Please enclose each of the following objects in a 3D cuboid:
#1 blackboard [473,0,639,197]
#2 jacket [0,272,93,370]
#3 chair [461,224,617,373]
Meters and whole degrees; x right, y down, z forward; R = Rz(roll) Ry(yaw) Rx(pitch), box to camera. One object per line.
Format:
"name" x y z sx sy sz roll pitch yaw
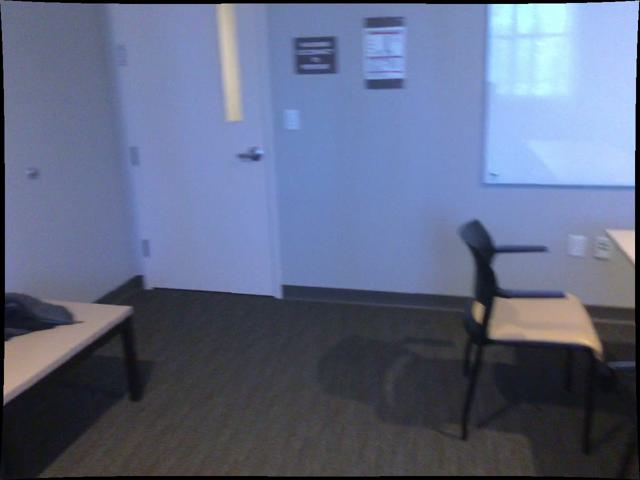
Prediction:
"blackboard" 2.077 -0.891 2.770 2.536 1.372 0.200 2 17 12
"jacket" -1.228 0.311 2.340 0.359 0.200 0.460 2 17 13
"chair" 0.819 0.200 2.280 0.489 0.391 0.520 2 17 13
